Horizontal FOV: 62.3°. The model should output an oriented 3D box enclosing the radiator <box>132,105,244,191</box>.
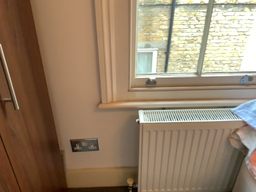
[{"bbox_3d":[0.270,0.310,1.100,0.480,0.530,0.110,-2,29,-4],"label":"radiator"}]
